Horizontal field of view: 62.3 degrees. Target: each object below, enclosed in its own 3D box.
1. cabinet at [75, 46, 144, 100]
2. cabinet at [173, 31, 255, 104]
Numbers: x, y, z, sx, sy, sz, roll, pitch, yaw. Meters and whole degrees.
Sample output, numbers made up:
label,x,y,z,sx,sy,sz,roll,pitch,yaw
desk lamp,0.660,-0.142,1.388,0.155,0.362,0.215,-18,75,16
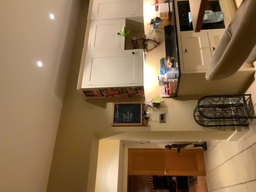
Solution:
label,x,y,z,sx,sy,sz,roll,pitch,yaw
cabinet,-0.240,-0.340,3.250,0.370,0.960,0.700,76,-166,-63
cabinet,1.110,-0.370,2.950,0.630,0.870,0.750,76,-166,-63
